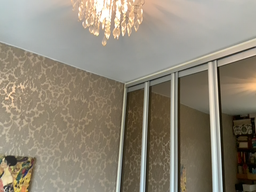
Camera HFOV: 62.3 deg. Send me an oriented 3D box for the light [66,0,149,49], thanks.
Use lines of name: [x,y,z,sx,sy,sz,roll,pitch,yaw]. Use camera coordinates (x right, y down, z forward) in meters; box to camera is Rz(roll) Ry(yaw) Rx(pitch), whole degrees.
light: [-0.110,-0.510,1.230,0.330,0.300,0.270,24,66,-36]
